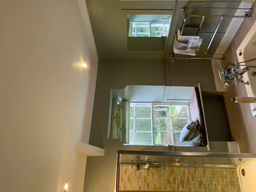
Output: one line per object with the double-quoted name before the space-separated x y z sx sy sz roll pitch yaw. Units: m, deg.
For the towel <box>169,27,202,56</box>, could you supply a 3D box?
"towel" 1.030 -0.990 3.890 0.460 0.470 0.280 89 -178 -60
